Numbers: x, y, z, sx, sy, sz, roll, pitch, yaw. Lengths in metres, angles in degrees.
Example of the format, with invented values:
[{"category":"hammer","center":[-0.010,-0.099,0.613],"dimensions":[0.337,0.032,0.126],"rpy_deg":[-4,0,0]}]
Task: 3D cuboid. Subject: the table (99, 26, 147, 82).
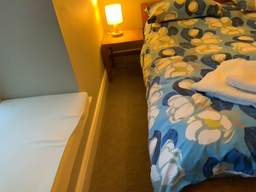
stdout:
[{"category":"table","center":[-0.050,-0.510,2.520],"dimensions":[0.470,0.430,0.500],"rpy_deg":[-7,34,3]}]
